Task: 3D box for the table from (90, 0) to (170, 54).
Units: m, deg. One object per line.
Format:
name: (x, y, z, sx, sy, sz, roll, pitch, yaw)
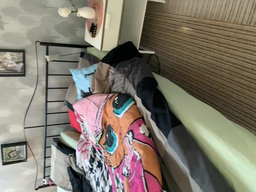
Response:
table: (-0.010, -0.680, 1.880, 0.450, 0.470, 0.460, 48, 132, 47)
